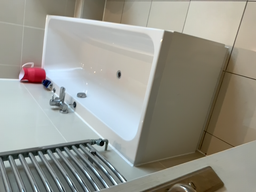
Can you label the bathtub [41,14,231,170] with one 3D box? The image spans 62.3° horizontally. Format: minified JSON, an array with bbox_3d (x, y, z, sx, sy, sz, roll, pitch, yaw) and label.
[{"bbox_3d":[-0.180,-0.230,1.790,1.690,0.550,0.710,29,112,48],"label":"bathtub"}]
